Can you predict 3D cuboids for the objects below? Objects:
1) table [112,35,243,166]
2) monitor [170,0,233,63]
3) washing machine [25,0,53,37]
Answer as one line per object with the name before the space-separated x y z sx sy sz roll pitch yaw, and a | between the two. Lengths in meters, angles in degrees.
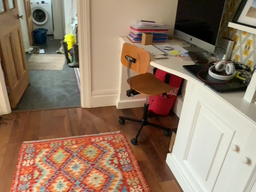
table | 0.330 -0.050 2.090 0.720 0.830 1.030 -4 30 -17
monitor | 0.580 -0.640 1.820 0.060 0.500 0.670 -4 30 -17
washing machine | -2.100 -1.890 5.090 0.520 0.820 0.490 -4 30 -17
